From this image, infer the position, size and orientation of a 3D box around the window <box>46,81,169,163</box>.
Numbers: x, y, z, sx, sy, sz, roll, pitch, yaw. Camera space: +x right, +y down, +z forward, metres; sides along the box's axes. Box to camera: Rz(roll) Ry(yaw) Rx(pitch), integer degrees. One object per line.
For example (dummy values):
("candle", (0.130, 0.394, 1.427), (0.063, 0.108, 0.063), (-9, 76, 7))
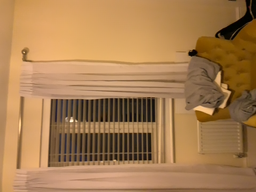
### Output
("window", (-0.170, 0.230, 2.000), (0.160, 1.100, 0.710), (153, 117, -81))

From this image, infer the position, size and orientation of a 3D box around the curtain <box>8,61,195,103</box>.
("curtain", (-0.190, -0.110, 1.930), (0.180, 1.600, 0.330), (153, 117, -81))

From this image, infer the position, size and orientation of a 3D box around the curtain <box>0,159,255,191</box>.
("curtain", (0.160, 0.760, 1.770), (0.270, 2.270, 0.330), (156, 114, -81))
